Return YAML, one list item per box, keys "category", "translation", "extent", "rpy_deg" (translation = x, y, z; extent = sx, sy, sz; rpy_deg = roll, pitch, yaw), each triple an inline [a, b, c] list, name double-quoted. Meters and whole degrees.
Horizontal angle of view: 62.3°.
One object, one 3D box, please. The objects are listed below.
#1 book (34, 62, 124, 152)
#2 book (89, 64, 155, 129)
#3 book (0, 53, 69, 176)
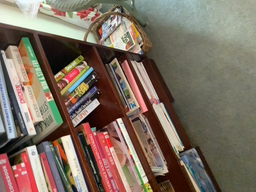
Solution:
- category: "book"
  translation: [-0.200, 0.040, 0.860]
  extent: [0.210, 0.190, 0.270]
  rpy_deg: [-34, 75, 32]
- category: "book"
  translation: [-0.030, 0.000, 1.070]
  extent: [0.180, 0.180, 0.250]
  rpy_deg: [-35, 74, 33]
- category: "book"
  translation: [-0.360, 0.060, 0.650]
  extent: [0.220, 0.160, 0.300]
  rpy_deg: [-34, 75, 32]
